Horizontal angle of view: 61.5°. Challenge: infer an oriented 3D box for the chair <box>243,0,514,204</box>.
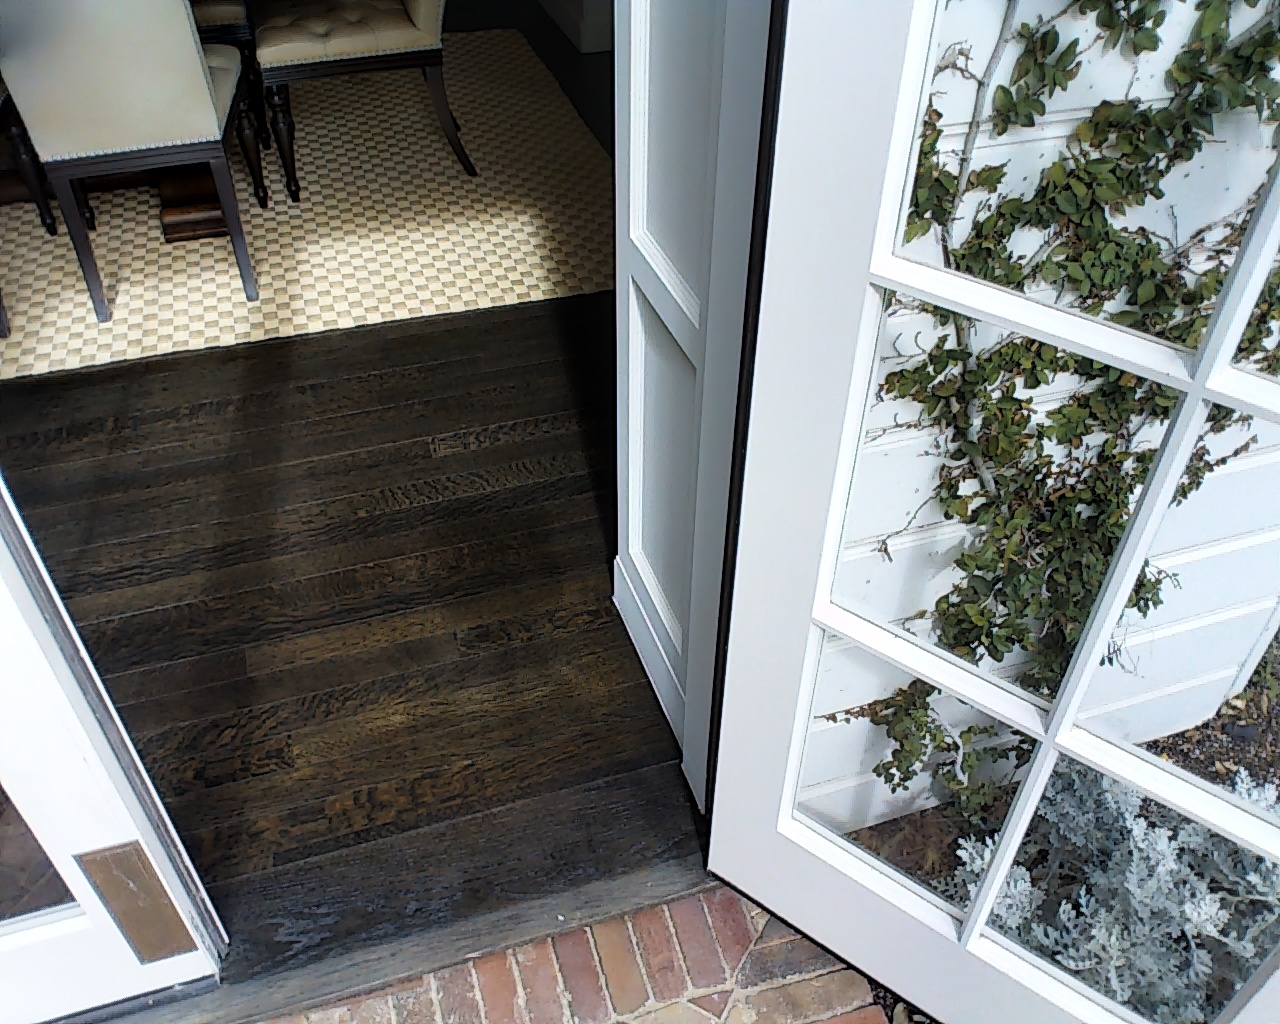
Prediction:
[{"bbox_3d":[-0.850,-1.580,3.340,0.720,0.940,0.620,-13,44,-14],"label":"chair"}]
